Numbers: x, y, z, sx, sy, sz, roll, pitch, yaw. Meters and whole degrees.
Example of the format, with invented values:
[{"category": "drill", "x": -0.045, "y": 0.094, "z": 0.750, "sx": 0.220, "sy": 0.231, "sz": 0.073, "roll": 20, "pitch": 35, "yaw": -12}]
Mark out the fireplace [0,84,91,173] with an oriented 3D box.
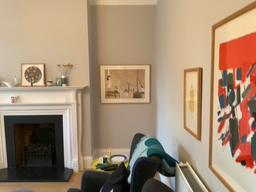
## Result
[{"category": "fireplace", "x": -1.580, "y": 0.520, "z": 3.660, "sx": 1.740, "sy": 1.400, "sz": 0.570, "roll": 0, "pitch": 6, "yaw": -2}]
